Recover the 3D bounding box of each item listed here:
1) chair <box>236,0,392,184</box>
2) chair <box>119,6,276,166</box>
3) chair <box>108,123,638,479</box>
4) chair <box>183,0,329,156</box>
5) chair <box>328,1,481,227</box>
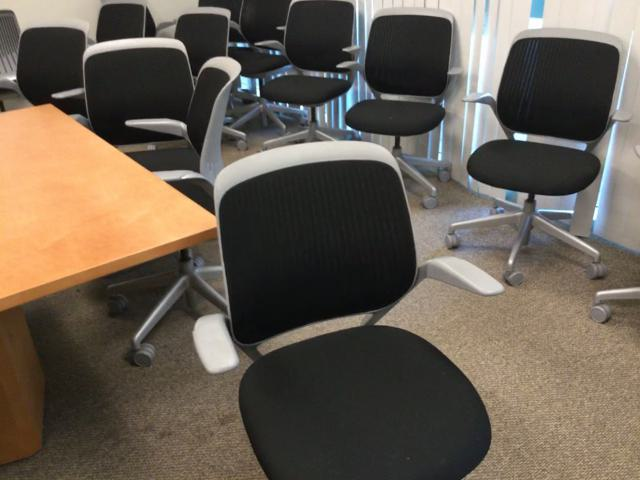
[{"bbox_3d":[0.000,-0.920,3.360,0.640,0.930,0.680,10,29,20],"label":"chair"},{"bbox_3d":[-0.740,-1.000,3.650,0.640,0.810,0.610,18,33,32],"label":"chair"},{"bbox_3d":[0.040,0.320,1.230,0.680,0.890,0.680,-14,30,-23],"label":"chair"},{"bbox_3d":[-0.400,-1.190,3.860,0.640,1.000,0.660,21,35,36],"label":"chair"},{"bbox_3d":[0.420,-0.660,2.930,0.570,0.960,0.560,11,30,23],"label":"chair"}]
